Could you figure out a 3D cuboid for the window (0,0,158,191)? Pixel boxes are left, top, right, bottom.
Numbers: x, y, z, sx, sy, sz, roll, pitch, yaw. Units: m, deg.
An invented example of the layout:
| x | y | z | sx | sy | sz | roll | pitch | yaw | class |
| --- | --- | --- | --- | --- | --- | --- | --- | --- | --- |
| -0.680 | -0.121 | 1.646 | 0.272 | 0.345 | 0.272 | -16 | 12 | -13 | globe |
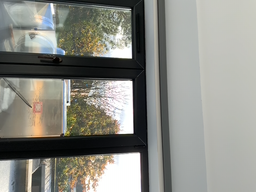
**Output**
| x | y | z | sx | sy | sz | roll | pitch | yaw | class |
| --- | --- | --- | --- | --- | --- | --- | --- | --- | --- |
| -0.490 | -0.210 | 1.500 | 0.080 | 1.400 | 2.380 | 148 | -58 | -74 | window |
